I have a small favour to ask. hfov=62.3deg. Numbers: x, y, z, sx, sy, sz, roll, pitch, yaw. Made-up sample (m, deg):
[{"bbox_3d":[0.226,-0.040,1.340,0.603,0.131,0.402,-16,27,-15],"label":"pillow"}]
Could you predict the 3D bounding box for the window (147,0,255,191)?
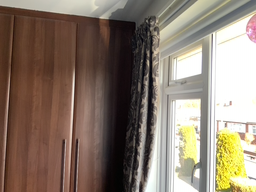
[{"bbox_3d":[0.680,0.210,0.690,0.290,1.370,2.500,2,-3,-17],"label":"window"}]
